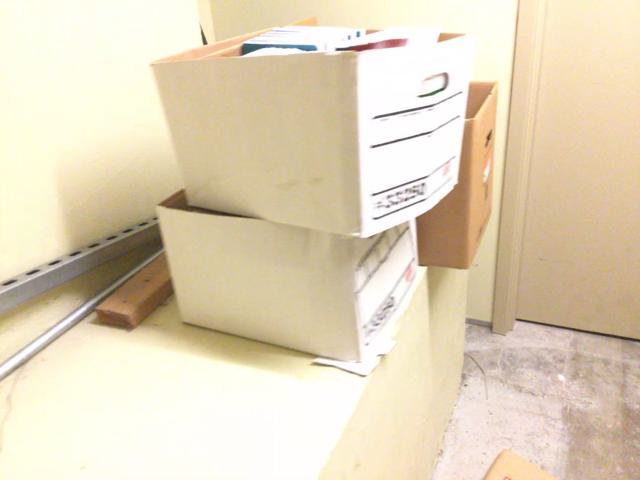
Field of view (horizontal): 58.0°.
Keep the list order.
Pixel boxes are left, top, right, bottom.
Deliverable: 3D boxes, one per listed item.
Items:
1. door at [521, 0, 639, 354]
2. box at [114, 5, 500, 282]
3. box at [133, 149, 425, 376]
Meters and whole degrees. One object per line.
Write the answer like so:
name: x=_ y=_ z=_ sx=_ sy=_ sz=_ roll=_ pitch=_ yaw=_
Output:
door: x=1.040 y=-0.280 z=1.610 sx=0.840 sy=1.440 sz=0.090 roll=6 pitch=29 yaw=25
box: x=-0.010 y=-0.200 z=0.960 sx=0.470 sy=0.290 sz=0.380 roll=15 pitch=34 yaw=37
box: x=-0.050 y=0.010 z=1.060 sx=0.400 sy=0.250 sz=0.320 roll=6 pitch=29 yaw=25
